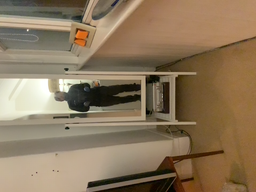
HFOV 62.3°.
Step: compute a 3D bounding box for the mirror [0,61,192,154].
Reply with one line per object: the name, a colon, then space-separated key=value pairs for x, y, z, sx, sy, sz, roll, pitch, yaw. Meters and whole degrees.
mirror: x=-0.330 y=0.050 z=1.880 sx=0.510 sy=1.760 sz=0.620 roll=-173 pitch=82 yaw=-70
